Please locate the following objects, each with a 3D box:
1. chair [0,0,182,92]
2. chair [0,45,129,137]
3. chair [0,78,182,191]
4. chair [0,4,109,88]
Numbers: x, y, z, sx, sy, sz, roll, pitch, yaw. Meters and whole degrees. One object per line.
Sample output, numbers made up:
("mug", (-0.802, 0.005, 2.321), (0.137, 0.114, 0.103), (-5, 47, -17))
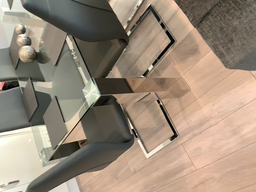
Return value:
("chair", (-0.230, -0.380, 1.380), (0.550, 1.010, 0.410), (-48, 60, 38))
("chair", (-0.590, -0.040, 1.790), (0.550, 1.010, 0.410), (-46, 61, 39))
("chair", (-0.230, 0.240, 1.410), (0.460, 1.030, 0.550), (-45, 62, 39))
("chair", (-0.780, -0.410, 1.960), (0.540, 1.000, 0.400), (-46, 61, 39))
